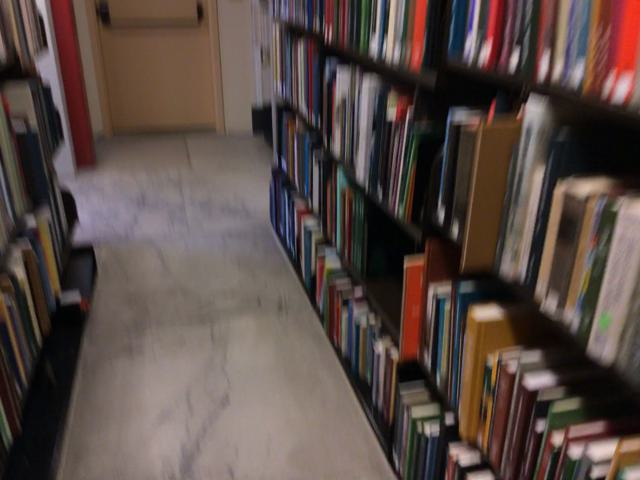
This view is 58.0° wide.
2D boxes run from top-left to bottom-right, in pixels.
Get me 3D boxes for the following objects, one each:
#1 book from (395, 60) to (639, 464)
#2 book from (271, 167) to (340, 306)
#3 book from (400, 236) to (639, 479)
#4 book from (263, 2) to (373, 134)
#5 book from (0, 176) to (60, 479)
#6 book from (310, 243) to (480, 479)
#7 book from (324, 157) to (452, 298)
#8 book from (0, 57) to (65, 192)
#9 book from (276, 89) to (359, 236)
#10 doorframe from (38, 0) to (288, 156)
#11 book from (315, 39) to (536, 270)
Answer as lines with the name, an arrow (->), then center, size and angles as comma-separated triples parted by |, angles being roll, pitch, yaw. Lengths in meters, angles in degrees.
book -> 0.430, -0.040, 0.900 | 0.290, 0.350, 0.830 | -2, 24, -16
book -> -0.090, -0.050, 2.660 | 0.110, 0.370, 0.760 | -2, 24, -16
book -> 0.420, 0.320, 1.120 | 0.230, 0.410, 0.690 | -2, 24, -16
book -> -0.050, -0.750, 2.410 | 0.210, 0.410, 0.870 | -2, 24, -16
book -> -0.800, 0.220, 1.390 | 0.160, 0.480, 0.960 | -2, 24, -16
book -> 0.160, 0.380, 1.800 | 0.110, 0.360, 1.010 | -2, 24, -16
book -> 0.210, -0.060, 1.990 | 0.270, 0.350, 0.400 | -2, 24, -16
book -> -1.070, -0.420, 1.980 | 0.260, 0.320, 0.640 | -2, 24, -16
book -> -0.040, -0.370, 2.510 | 0.130, 0.430, 0.780 | -2, 24, -16
doorframe -> -0.960, -1.510, 3.660 | 1.480, 1.960, 0.260 | -2, 28, -16
book -> 0.220, -0.310, 1.680 | 0.220, 0.430, 0.900 | -2, 24, -16
